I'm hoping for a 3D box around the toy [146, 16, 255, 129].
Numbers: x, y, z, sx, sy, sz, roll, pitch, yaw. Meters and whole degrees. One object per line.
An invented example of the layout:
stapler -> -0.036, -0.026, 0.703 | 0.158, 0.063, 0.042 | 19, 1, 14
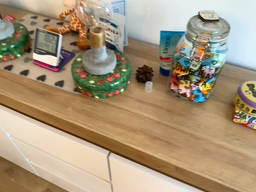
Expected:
toy -> 0.240, -0.070, 0.580 | 0.330, 0.160, 0.170 | 19, 50, 15
